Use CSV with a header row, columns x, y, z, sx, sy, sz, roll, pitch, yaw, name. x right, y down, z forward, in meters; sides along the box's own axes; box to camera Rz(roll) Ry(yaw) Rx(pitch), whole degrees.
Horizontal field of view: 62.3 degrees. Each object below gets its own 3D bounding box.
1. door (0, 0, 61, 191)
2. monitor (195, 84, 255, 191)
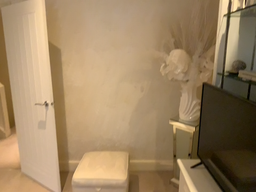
x,y,z,sx,sy,sz,roll,pitch,yaw,name
-1.060,0.010,2.270,0.800,1.950,0.050,9,16,36,door
0.560,0.310,1.090,0.040,0.600,0.980,-1,12,-3,monitor
